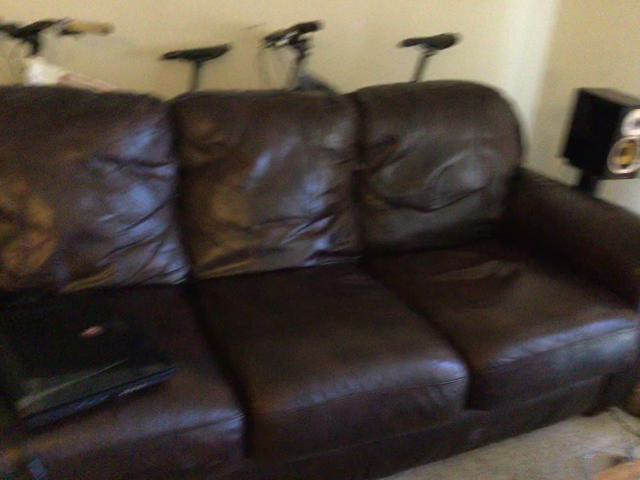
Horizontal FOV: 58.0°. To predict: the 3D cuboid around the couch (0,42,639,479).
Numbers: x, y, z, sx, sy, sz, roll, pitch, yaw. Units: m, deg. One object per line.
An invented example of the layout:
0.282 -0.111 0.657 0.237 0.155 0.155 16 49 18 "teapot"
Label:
-0.060 0.110 1.580 2.090 1.010 0.930 -3 26 -25 "couch"
